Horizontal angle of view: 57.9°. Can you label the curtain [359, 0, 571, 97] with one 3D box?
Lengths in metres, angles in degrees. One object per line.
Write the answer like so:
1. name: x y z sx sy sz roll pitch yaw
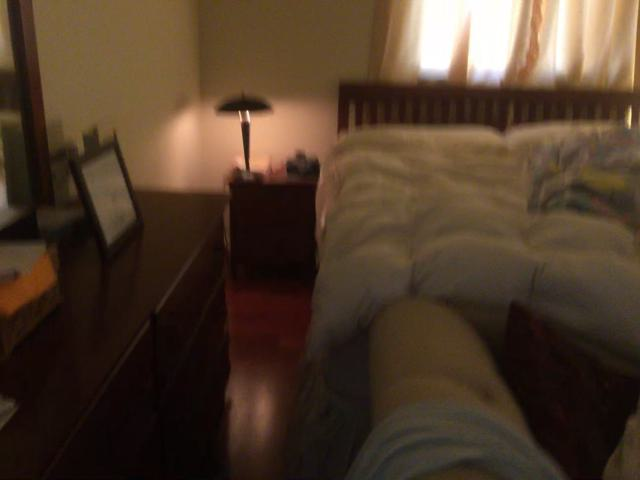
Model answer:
1. curtain: 0.730 -1.150 3.030 1.040 0.730 0.260 -1 19 1
